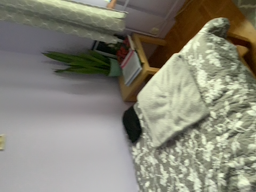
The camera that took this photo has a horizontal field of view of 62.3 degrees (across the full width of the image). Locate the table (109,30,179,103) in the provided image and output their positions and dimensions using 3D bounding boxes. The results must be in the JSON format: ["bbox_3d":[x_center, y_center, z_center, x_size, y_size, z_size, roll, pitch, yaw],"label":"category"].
[{"bbox_3d":[0.150,-0.320,2.510,0.590,0.460,0.540,-53,43,44],"label":"table"}]
